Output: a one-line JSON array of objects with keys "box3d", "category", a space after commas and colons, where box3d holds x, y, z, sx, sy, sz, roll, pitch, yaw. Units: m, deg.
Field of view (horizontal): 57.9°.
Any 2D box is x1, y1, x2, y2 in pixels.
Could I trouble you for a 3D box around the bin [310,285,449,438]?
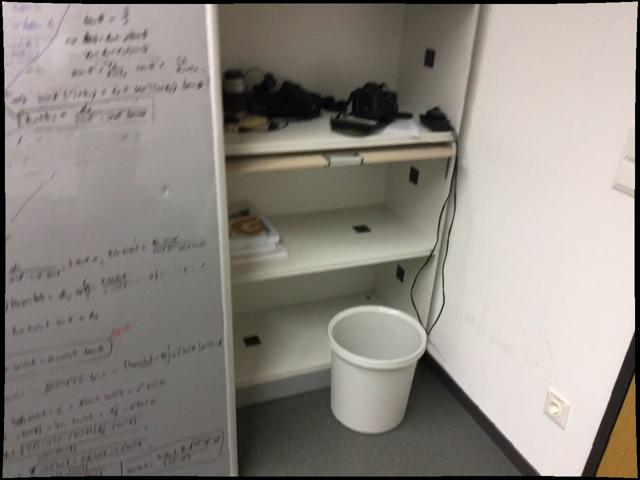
[{"box3d": [0.180, 0.390, 1.930, 0.330, 0.300, 0.330, -9, 29, -20], "category": "bin"}]
